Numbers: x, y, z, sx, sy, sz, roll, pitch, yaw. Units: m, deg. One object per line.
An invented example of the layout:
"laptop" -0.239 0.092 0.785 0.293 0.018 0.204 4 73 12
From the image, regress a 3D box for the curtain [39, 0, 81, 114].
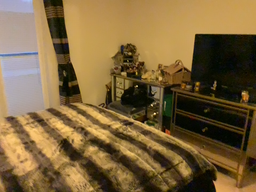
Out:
"curtain" -0.810 -0.790 2.510 0.330 2.000 0.220 -14 22 -42

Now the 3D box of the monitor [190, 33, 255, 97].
"monitor" 0.980 -0.330 2.080 0.060 0.550 0.760 -13 21 -38
